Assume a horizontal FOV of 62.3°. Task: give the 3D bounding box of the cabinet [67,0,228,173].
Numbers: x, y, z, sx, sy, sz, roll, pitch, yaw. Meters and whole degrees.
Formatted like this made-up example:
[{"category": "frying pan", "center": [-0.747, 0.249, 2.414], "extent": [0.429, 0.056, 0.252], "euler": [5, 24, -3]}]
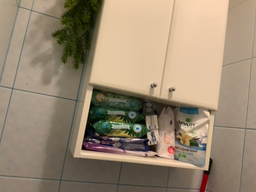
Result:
[{"category": "cabinet", "center": [0.100, -0.170, 0.860], "extent": [0.510, 0.850, 0.210], "euler": [11, -8, -18]}]
